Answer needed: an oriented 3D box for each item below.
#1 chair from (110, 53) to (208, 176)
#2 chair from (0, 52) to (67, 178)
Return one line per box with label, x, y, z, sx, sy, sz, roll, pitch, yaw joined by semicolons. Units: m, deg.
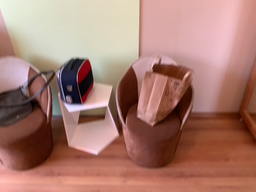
chair;0.230;0.130;1.870;0.630;0.770;0.700;4;33;5
chair;-0.970;0.130;1.890;0.590;0.750;0.700;-15;36;-21
